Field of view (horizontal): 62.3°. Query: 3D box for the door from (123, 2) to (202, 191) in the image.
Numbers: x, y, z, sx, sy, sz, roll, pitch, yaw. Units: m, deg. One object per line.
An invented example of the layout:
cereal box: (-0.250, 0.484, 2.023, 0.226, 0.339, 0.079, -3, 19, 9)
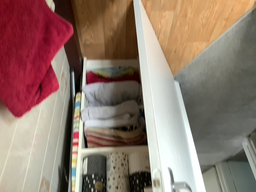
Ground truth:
door: (0.210, 0.340, 0.950, 0.130, 1.550, 0.730, -16, 142, 17)
